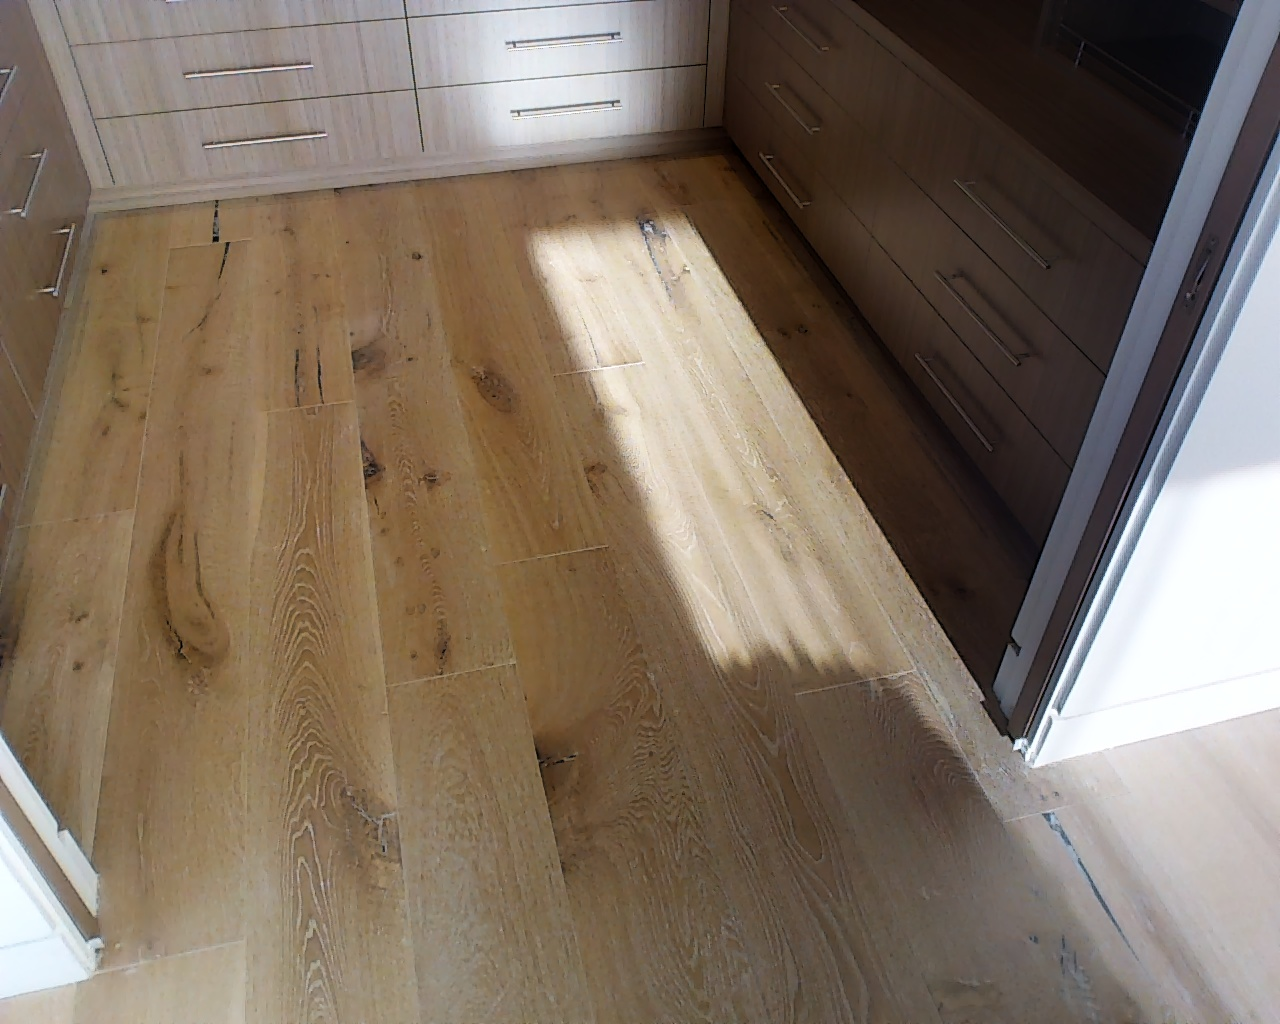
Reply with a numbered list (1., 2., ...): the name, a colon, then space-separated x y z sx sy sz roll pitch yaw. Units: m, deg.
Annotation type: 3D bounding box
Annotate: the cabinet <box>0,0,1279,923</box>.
1. cabinet: -0.450 -0.770 2.620 3.199 0.830 2.920 -9 43 -11
